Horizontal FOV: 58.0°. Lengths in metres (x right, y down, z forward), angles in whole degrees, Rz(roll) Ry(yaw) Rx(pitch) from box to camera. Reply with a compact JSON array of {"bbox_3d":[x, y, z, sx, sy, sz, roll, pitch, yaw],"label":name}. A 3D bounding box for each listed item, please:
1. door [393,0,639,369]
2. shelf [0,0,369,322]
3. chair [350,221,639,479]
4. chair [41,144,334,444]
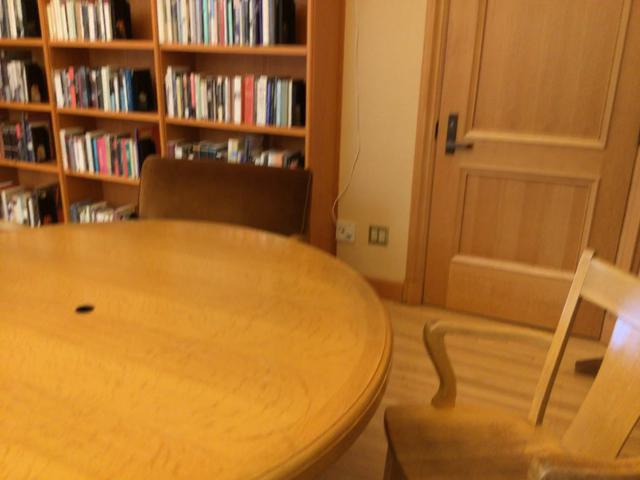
[{"bbox_3d":[1.070,-0.740,2.480,1.270,2.550,0.120,13,21,23],"label":"door"},{"bbox_3d":[-1.060,-0.970,3.310,2.560,2.220,0.600,13,21,23],"label":"shelf"},{"bbox_3d":[0.470,0.520,1.370,0.700,0.920,0.700,4,19,-1],"label":"chair"},{"bbox_3d":[-0.470,0.140,2.350,0.830,0.860,0.770,9,20,13],"label":"chair"}]
